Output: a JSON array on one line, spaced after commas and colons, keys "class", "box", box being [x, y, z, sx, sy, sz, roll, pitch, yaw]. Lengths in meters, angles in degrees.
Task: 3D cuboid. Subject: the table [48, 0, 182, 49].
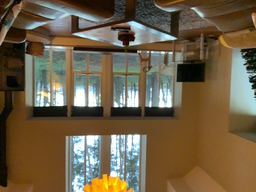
[{"class": "table", "box": [-0.160, -1.020, 3.030, 1.330, 0.420, 1.350, 4, -175, 40]}]
